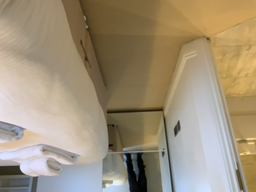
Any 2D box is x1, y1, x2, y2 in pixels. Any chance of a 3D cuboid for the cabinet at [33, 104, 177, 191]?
[{"bbox_3d":[-0.250,1.160,2.490,1.580,2.050,0.440,-3,155,2],"label":"cabinet"}]
